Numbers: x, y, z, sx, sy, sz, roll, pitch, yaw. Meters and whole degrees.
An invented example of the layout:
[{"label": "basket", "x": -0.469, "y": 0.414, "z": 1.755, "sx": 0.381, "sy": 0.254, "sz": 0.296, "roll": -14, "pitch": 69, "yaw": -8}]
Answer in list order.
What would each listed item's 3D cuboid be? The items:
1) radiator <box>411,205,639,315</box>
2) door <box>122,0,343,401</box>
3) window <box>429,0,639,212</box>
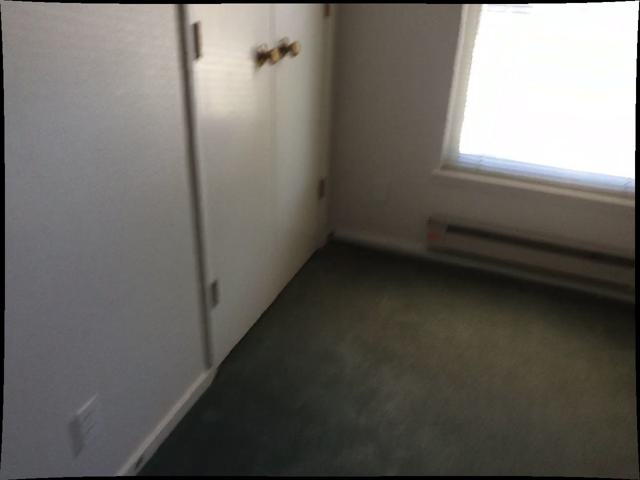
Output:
[{"label": "radiator", "x": 0.899, "y": 0.080, "z": 2.430, "sx": 1.009, "sy": 0.250, "sz": 0.070, "roll": 14, "pitch": 33, "yaw": 18}, {"label": "door", "x": -0.180, "y": -0.651, "z": 1.840, "sx": 0.100, "sy": 2.092, "sz": 1.180, "roll": 13, "pitch": 33, "yaw": 18}, {"label": "window", "x": 0.948, "y": -0.591, "z": 2.160, "sx": 0.949, "sy": 0.851, "sz": 0.190, "roll": 14, "pitch": 33, "yaw": 18}]
